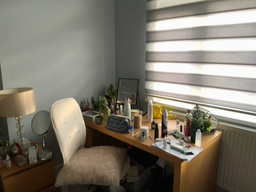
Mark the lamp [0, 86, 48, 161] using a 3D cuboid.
[{"bbox_3d":[-0.950,0.210,1.860,0.340,0.530,0.320,12,17,43],"label":"lamp"}]

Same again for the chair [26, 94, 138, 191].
[{"bbox_3d":[-0.300,0.550,1.720,0.660,1.010,0.570,3,12,11],"label":"chair"}]
